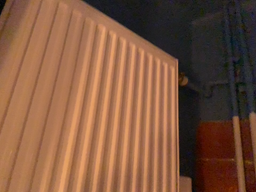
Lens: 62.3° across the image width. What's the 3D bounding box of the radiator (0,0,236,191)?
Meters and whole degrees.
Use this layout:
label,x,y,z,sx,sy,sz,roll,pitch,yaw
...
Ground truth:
label,x,y,z,sx,sy,sz,roll,pitch,yaw
radiator,-0.020,0.120,0.520,0.690,0.720,0.210,21,-26,-33
